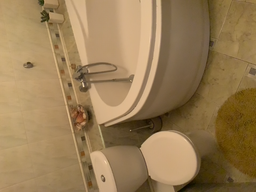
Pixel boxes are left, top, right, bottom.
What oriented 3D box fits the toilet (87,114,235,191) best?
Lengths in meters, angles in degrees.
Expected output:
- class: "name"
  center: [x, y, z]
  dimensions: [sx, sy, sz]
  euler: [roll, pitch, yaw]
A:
- class: "toilet"
  center: [0.230, 0.460, 1.560]
  dimensions: [0.670, 0.770, 0.370]
  euler: [-29, 75, 48]
